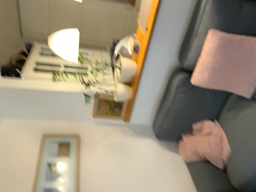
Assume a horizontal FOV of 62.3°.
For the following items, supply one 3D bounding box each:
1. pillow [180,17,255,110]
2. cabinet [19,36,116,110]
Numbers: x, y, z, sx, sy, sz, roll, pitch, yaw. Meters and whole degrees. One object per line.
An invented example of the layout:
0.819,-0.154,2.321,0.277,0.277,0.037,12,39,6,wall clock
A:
0.710,-0.200,1.460,0.470,0.460,0.200,-60,25,29,pillow
-0.610,-0.280,2.310,0.900,0.820,0.330,-105,23,-53,cabinet
